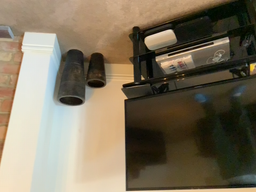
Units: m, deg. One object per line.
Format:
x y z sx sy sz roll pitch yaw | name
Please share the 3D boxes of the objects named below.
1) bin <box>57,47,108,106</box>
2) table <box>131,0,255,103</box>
-0.340 -0.150 1.690 0.360 0.410 0.220 1 157 -6 | bin
0.480 -0.290 1.460 0.780 0.410 0.470 -12 155 23 | table
